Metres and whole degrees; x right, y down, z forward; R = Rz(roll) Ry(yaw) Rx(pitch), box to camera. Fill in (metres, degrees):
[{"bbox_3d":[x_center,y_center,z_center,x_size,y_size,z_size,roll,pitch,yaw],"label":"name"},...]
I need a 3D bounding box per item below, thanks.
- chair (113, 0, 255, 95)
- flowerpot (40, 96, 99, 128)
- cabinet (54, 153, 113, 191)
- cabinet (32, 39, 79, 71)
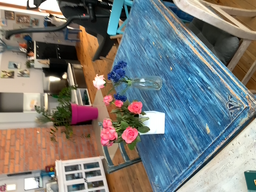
[{"bbox_3d":[0.450,-0.330,1.260,0.490,0.900,0.420,-65,35,39],"label":"chair"},{"bbox_3d":[-1.250,0.320,4.490,0.460,1.100,0.440,64,143,42],"label":"flowerpot"},{"bbox_3d":[-0.810,1.560,3.840,0.320,0.910,0.880,-62,37,43],"label":"cabinet"},{"bbox_3d":[-2.200,-1.220,6.390,0.900,1.240,0.430,64,144,42],"label":"cabinet"}]
